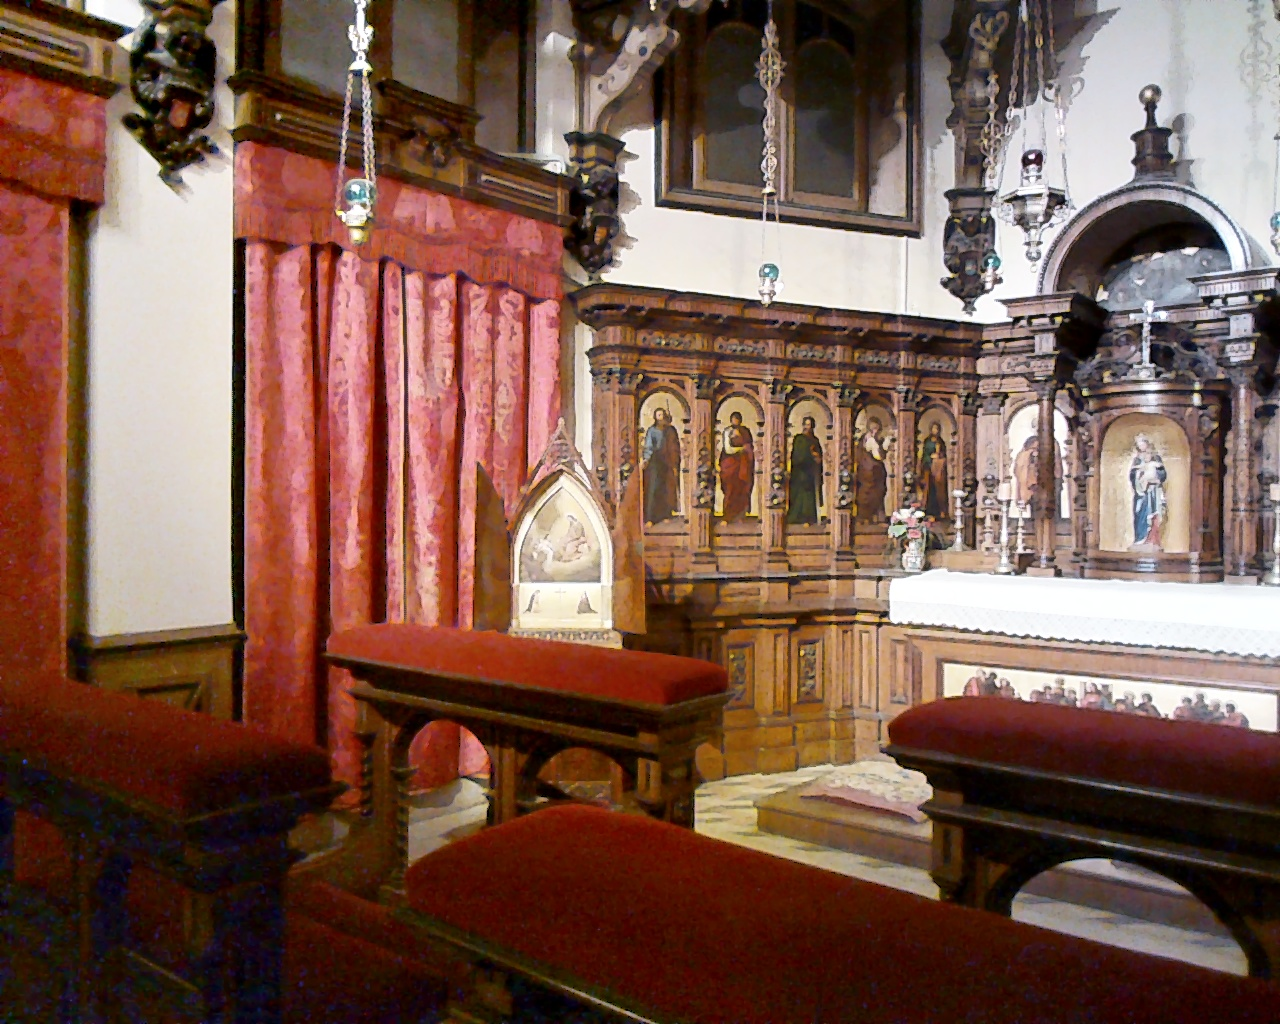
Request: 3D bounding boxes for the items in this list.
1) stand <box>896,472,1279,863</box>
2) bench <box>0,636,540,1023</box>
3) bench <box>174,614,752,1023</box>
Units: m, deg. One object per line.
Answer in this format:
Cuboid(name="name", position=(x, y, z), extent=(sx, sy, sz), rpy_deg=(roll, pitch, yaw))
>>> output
Cuboid(name="stand", position=(2.269, 0.610, 5.010), extent=(1.940, 1.550, 0.780), rpy_deg=(1, 1, 41))
Cuboid(name="bench", position=(-1.160, 0.880, 2.250), extent=(1.530, 1.010, 1.150), rpy_deg=(1, 1, 41))
Cuboid(name="bench", position=(-0.540, 0.880, 3.020), extent=(1.470, 1.020, 0.850), rpy_deg=(1, 1, 41))
